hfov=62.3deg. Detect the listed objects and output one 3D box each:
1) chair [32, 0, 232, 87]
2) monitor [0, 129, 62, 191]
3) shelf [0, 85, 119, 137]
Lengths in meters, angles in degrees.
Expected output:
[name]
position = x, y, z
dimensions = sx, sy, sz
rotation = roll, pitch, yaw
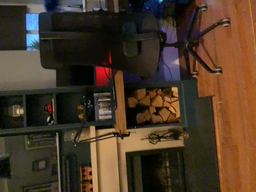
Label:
[chair]
position = 0.010, -0.440, 1.760
dimensions = 0.740, 1.330, 0.630
rotation = 177, 90, -79
[monitor]
position = -1.010, 0.950, 1.970
dimensions = 0.050, 0.750, 1.180
rotation = 154, 109, -78
[shelf]
position = -0.830, 0.140, 2.000
dimensions = 0.280, 1.440, 0.410
rotation = 162, 104, -78
